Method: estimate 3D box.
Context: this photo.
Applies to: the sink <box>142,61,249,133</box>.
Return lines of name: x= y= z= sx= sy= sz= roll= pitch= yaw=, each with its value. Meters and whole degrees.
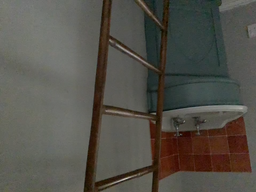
sink: x=0.390 y=0.050 z=1.210 sx=0.470 sy=0.290 sz=0.440 roll=-9 pitch=168 yaw=26

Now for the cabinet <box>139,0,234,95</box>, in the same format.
cabinet: x=0.360 y=-0.400 z=1.320 sx=0.440 sy=0.680 sz=0.380 roll=-9 pitch=168 yaw=26
